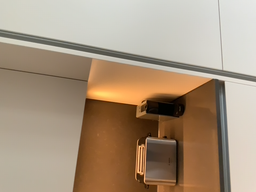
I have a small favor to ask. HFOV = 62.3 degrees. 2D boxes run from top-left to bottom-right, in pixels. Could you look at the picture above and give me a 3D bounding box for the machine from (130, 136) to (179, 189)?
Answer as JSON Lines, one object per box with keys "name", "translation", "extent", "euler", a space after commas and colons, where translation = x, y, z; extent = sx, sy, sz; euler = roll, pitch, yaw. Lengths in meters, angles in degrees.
{"name": "machine", "translation": [0.150, 0.390, 1.260], "extent": [0.280, 0.190, 0.260], "euler": [134, 142, -68]}
